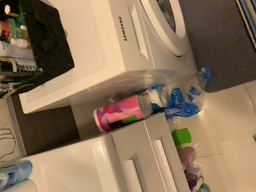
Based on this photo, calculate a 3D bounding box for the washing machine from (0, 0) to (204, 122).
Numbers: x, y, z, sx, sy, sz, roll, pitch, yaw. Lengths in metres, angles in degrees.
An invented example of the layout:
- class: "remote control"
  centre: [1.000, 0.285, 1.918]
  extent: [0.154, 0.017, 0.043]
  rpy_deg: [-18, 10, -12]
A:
- class: "washing machine"
  centre: [-0.100, -0.330, 1.010]
  extent: [0.610, 0.840, 0.630]
  rpy_deg: [-18, 87, 28]
